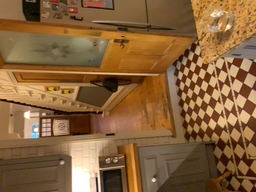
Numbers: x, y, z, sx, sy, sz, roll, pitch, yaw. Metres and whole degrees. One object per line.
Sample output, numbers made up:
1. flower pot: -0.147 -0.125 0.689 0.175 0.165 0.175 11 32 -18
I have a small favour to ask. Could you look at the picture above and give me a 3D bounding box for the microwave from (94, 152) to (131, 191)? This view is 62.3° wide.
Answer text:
1. microwave: -0.160 0.830 2.120 0.330 0.270 0.490 137 129 -65
